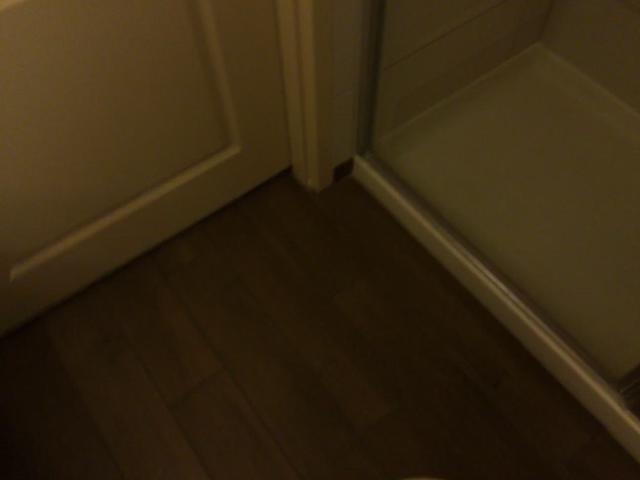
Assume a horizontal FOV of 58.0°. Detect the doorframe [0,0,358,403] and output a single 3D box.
[{"bbox_3d":[-0.390,-0.410,0.650,1.040,1.830,0.150,-35,65,-17],"label":"doorframe"}]
